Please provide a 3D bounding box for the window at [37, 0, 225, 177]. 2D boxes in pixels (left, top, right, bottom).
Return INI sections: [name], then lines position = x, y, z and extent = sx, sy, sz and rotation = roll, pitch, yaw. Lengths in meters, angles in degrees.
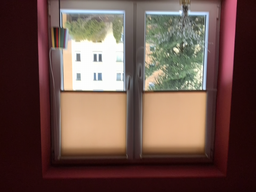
[window]
position = 0.010, -0.120, 1.790
extent = 1.450, 1.550, 0.190
rotation = 1, -174, 0
